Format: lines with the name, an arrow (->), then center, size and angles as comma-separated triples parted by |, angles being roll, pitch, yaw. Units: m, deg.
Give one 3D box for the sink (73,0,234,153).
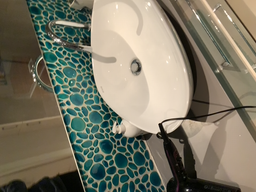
sink -> 0.020, -0.160, 0.760 | 0.380, 0.130, 0.610 | -42, 64, 44
